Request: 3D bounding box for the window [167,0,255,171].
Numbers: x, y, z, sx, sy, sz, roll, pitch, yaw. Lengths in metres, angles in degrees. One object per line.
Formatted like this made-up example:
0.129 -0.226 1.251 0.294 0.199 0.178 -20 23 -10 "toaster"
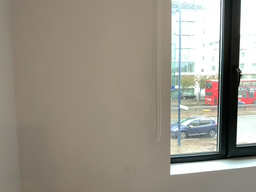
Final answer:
0.800 -0.190 1.610 1.020 1.460 0.050 -2 6 -11 "window"
